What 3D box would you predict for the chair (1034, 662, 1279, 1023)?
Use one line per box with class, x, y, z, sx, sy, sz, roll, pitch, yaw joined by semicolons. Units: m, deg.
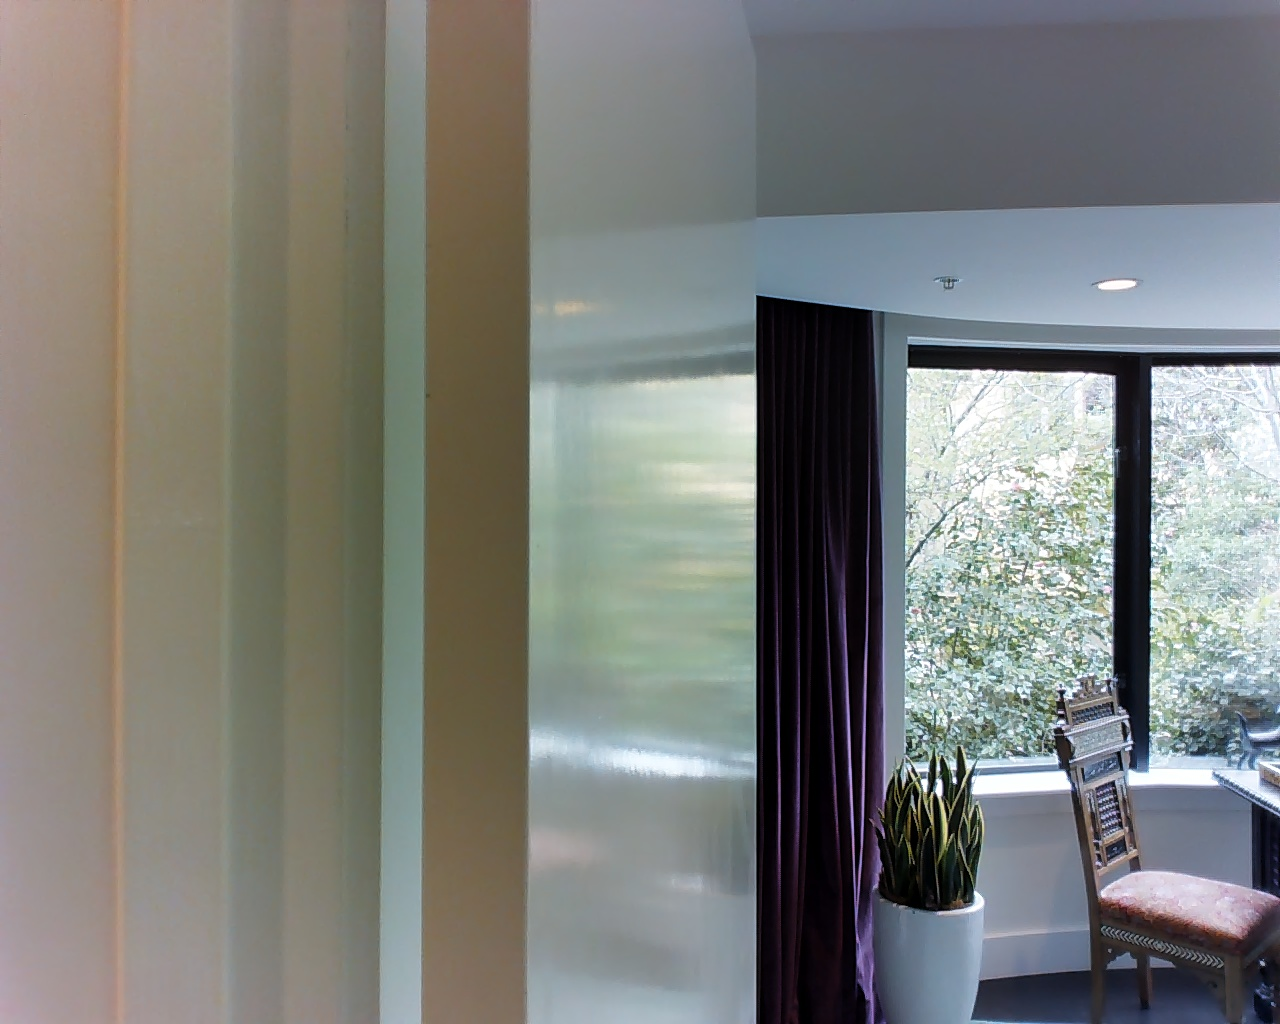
chair;1.550;1.000;3.130;0.490;1.020;0.590;0;0;-41
